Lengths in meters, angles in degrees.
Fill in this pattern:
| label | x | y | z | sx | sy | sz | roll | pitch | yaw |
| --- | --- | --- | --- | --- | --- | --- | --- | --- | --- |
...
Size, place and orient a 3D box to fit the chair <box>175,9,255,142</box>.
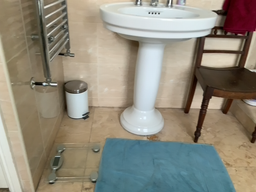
| label | x | y | z | sx | sy | sz | roll | pitch | yaw |
| --- | --- | --- | --- | --- | --- | --- | --- | --- | --- |
| chair | 0.700 | -0.140 | 1.510 | 0.490 | 0.810 | 0.470 | 1 | 29 | -5 |
